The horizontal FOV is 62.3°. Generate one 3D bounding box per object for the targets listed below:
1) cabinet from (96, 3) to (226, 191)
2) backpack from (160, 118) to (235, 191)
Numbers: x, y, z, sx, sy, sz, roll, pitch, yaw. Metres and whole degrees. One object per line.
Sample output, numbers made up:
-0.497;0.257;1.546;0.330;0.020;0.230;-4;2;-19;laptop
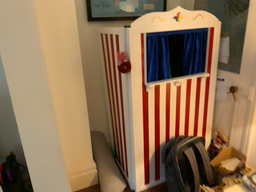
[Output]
0.260;-0.010;1.880;0.830;1.450;0.540;-12;23;-24;cabinet
0.540;0.500;1.700;0.480;0.460;0.290;-13;23;-26;backpack
